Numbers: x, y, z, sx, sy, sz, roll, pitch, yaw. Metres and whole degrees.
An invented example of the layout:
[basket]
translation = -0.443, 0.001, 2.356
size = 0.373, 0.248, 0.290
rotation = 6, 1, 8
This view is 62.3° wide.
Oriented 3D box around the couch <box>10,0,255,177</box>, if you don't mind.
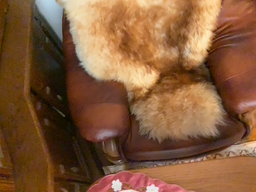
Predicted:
[couch]
translation = 0.190, -0.170, 1.140
size = 1.020, 0.930, 0.930
rotation = -11, 64, 5
